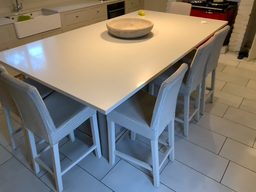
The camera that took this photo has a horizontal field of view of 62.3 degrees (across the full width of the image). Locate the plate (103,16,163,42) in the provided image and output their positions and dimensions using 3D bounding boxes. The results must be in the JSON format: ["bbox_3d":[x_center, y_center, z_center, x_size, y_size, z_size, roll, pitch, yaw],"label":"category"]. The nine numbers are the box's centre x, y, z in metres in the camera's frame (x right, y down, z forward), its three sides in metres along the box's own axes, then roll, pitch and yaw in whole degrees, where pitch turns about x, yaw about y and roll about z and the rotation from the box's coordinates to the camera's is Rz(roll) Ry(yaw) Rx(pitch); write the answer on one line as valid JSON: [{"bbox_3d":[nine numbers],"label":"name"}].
[{"bbox_3d":[0.060,-0.750,2.320,0.470,0.090,0.450,22,40,30],"label":"plate"}]
